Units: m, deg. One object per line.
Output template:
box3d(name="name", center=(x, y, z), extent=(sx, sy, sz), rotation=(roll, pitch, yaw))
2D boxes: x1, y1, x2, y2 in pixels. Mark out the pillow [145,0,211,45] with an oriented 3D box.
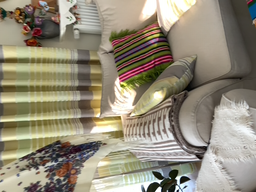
box3d(name="pillow", center=(0.300, -0.710, 1.470), extent=(0.470, 0.130, 0.530), rotation=(148, 118, -63))
